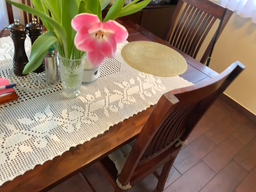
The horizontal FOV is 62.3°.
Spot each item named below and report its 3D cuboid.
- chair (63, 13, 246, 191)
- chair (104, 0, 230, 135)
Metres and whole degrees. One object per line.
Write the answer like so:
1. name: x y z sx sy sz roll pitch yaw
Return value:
1. chair: 0.010 0.180 1.100 0.480 1.000 0.490 -22 52 -36
2. chair: 0.230 -0.270 1.700 0.540 0.990 0.480 -20 50 -35
